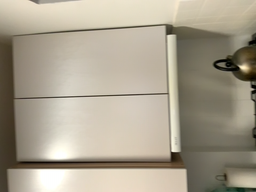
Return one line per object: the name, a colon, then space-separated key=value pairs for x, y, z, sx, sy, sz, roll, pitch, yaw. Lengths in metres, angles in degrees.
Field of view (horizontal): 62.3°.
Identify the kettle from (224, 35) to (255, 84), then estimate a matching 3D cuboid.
kettle: x=0.660 y=-0.190 z=1.160 sx=0.220 sy=0.190 sz=0.240 roll=-35 pitch=-57 yaw=-82
